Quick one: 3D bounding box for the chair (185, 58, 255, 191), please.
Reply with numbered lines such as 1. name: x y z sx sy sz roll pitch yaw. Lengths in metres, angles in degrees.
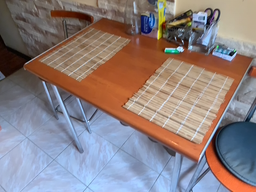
1. chair: 0.630 0.350 1.020 0.500 0.820 0.460 25 51 27
